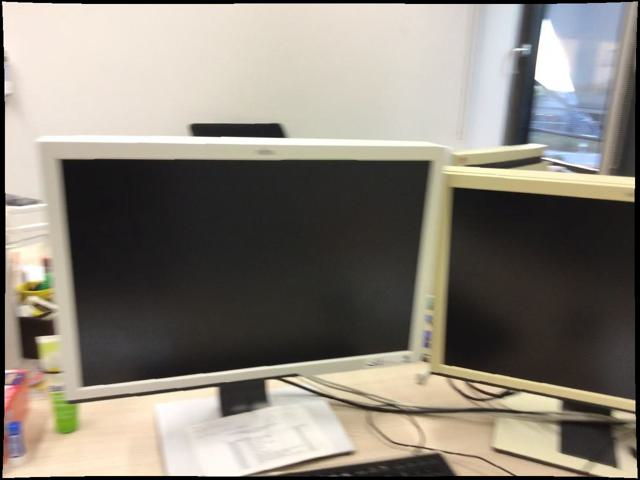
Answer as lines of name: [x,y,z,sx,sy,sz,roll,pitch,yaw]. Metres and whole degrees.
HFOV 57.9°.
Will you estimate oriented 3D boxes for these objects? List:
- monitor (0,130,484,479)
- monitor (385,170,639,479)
monitor: [-0.140,0.100,0.910,0.659,0.510,0.300,-3,16,-14]
monitor: [0.430,0.120,0.870,0.609,0.440,0.220,0,8,22]
